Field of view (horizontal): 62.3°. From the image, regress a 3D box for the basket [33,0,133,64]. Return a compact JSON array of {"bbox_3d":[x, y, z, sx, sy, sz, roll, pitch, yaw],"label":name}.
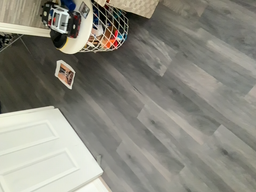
[{"bbox_3d":[-0.310,-0.480,1.490,0.380,0.470,0.350,42,119,26],"label":"basket"}]
